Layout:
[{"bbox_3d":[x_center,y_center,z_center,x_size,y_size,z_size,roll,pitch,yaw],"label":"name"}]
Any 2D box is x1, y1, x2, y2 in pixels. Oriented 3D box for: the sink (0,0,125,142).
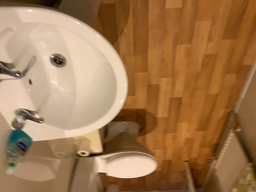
[{"bbox_3d":[-0.240,-0.090,0.750,0.440,0.210,0.540,-2,133,0],"label":"sink"}]
